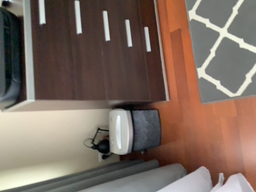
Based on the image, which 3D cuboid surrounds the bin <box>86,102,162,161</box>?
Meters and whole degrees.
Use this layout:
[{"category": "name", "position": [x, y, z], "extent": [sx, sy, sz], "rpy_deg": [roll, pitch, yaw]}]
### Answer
[{"category": "bin", "position": [-0.040, 0.260, 1.660], "extent": [0.450, 0.370, 0.380], "rpy_deg": [-10, 82, 45]}]
